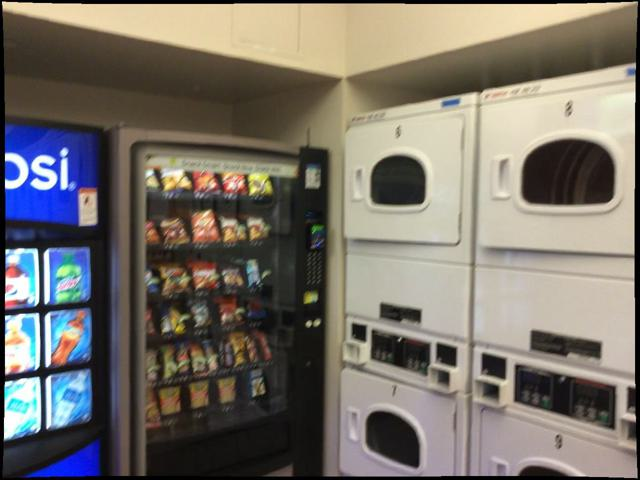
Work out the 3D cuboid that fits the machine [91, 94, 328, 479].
[{"bbox_3d":[-0.440,0.370,2.390,0.849,1.762,0.400,-2,4,-36],"label":"machine"}]
